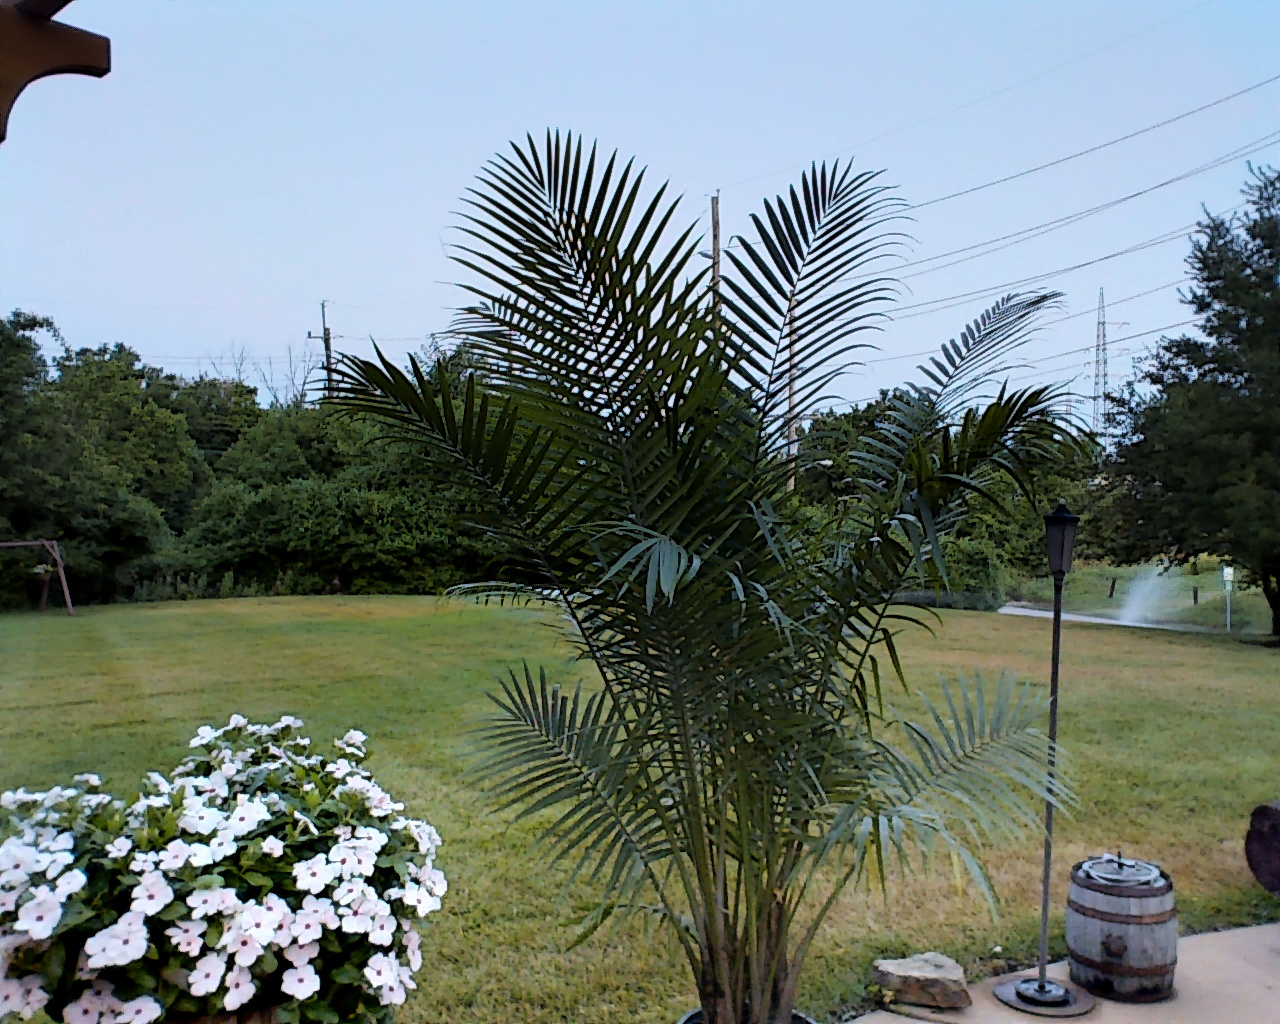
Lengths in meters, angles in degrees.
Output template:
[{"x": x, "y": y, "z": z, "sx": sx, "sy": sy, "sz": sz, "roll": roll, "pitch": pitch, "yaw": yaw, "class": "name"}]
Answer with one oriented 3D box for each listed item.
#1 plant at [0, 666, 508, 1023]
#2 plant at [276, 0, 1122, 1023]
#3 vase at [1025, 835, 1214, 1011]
[{"x": -0.640, "y": 0.920, "z": 1.560, "sx": 0.570, "sy": 1.270, "sz": 0.710, "roll": -1, "pitch": -1, "yaw": 33, "class": "plant"}, {"x": 0.200, "y": 0.260, "z": 2.750, "sx": 1.930, "sy": 2.571, "sz": 1.000, "roll": 0, "pitch": -1, "yaw": -34, "class": "plant"}, {"x": 1.610, "y": 1.370, "z": 3.640, "sx": 0.440, "sy": 0.410, "sz": 0.380, "roll": 0, "pitch": 0, "yaw": -16, "class": "vase"}]
